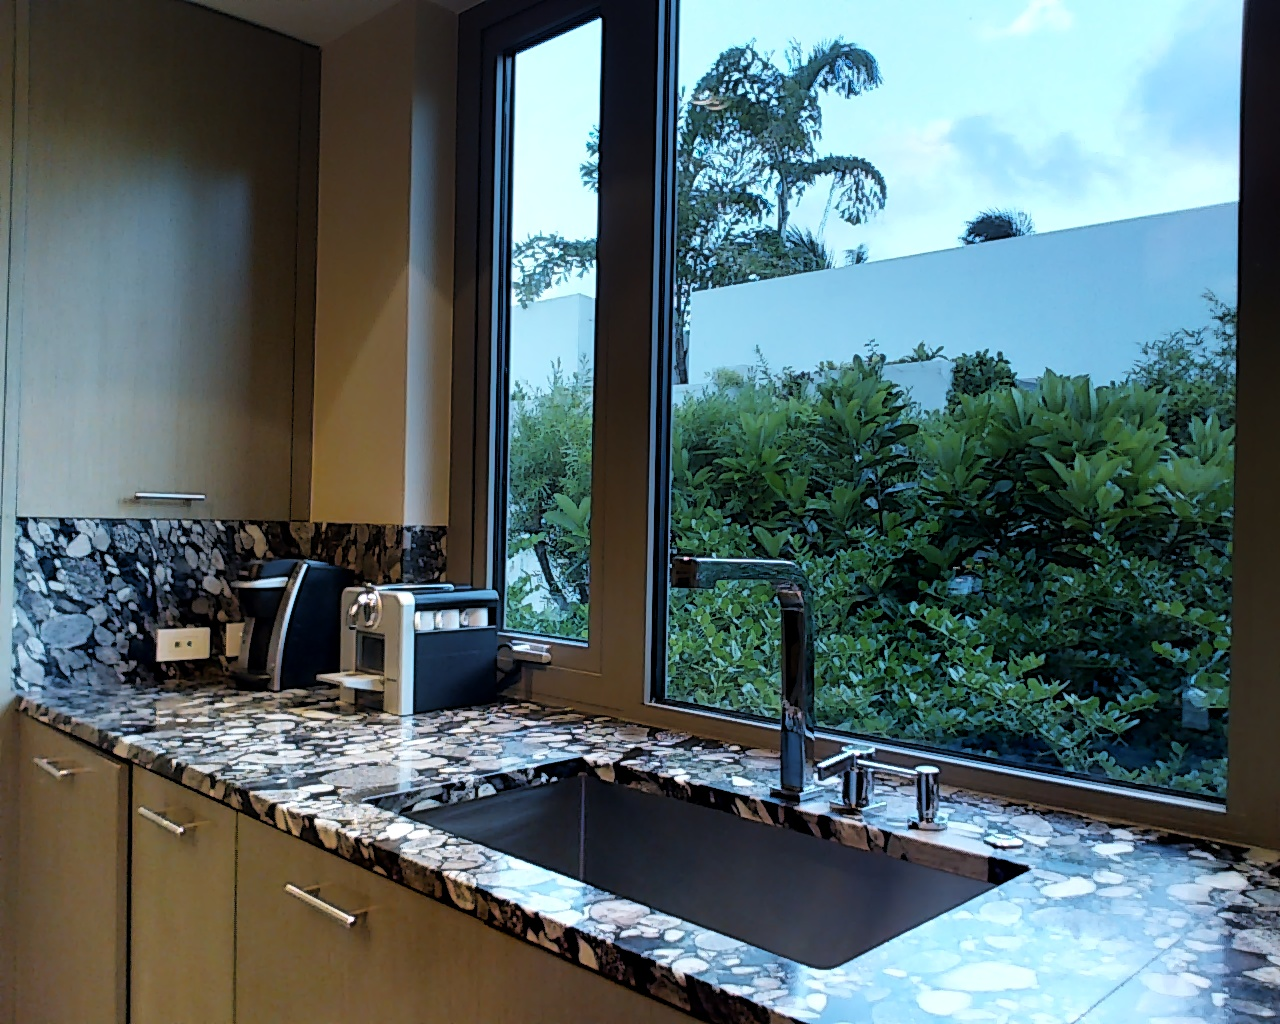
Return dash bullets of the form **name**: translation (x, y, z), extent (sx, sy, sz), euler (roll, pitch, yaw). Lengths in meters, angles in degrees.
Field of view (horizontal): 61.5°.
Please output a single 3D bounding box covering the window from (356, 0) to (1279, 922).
- **window**: translation (0.360, -0.380, 1.600), extent (2.280, 1.550, 0.380), euler (1, 0, 45)
